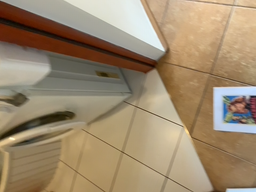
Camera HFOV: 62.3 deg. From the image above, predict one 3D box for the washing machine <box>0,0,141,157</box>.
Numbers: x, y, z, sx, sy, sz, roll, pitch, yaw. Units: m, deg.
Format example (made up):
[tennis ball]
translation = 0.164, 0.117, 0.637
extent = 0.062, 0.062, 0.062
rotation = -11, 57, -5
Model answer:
[washing machine]
translation = -0.470, -0.070, 1.080
extent = 0.600, 0.830, 0.560
rotation = -28, 77, 27
